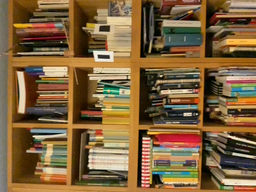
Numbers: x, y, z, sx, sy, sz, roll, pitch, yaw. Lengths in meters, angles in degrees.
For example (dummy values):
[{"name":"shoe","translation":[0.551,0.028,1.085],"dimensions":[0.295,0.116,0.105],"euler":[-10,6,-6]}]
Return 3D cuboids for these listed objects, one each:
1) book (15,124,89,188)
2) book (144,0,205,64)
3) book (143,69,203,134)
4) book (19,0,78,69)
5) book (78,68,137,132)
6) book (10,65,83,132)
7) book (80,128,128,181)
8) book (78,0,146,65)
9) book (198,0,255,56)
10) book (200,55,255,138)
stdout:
[{"name":"book","translation":[-0.510,0.400,1.490],"dimensions":[0.280,0.410,0.350],"euler":[-45,-44,-87]},{"name":"book","translation":[0.290,-0.420,1.410],"dimensions":[0.230,0.350,0.390],"euler":[-51,-38,-86]},{"name":"book","translation":[0.270,0.030,1.390],"dimensions":[0.310,0.330,0.370],"euler":[-16,-73,-88]},{"name":"book","translation":[-0.520,-0.450,1.440],"dimensions":[0.290,0.280,0.490],"euler":[-2,-87,-88]},{"name":"book","translation":[-0.120,0.020,1.430],"dimensions":[0.300,0.350,0.380],"euler":[-37,-52,-87]},{"name":"book","translation":[-0.530,0.010,1.450],"dimensions":[0.310,0.370,0.400],"euler":[-45,-44,-87]},{"name":"book","translation":[-0.150,0.380,1.430],"dimensions":[0.250,0.280,0.270],"euler":[-56,-33,-86]},{"name":"book","translation":[-0.090,-0.420,1.410],"dimensions":[0.290,0.400,0.390],"euler":[-37,-52,-87]},{"name":"book","translation":[0.700,-0.450,1.410],"dimensions":[0.300,0.370,0.320],"euler":[-51,-38,-86]},{"name":"book","translation":[0.700,0.000,1.420],"dimensions":[0.300,0.330,0.490],"euler":[-37,-52,-87]}]
